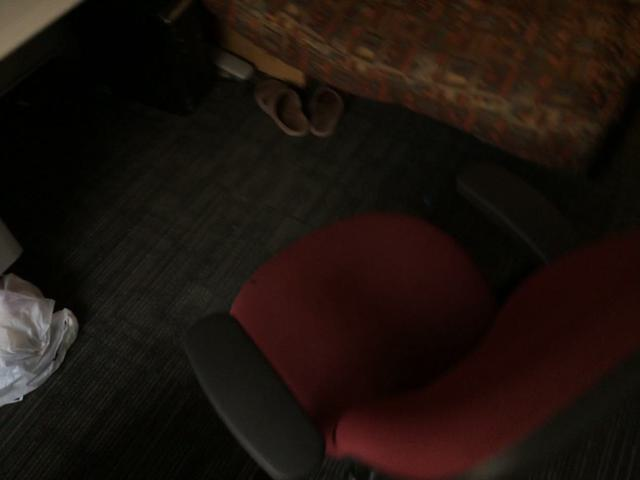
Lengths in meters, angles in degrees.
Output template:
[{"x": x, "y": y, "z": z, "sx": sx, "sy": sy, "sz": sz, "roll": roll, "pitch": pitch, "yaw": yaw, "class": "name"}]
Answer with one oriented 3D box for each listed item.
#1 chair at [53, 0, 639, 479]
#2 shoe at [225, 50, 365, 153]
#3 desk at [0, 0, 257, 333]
[{"x": 0.180, "y": 0.170, "z": 0.990, "sx": 0.660, "sy": 0.970, "sz": 0.700, "roll": -32, "pitch": 61, "yaw": -20, "class": "chair"}, {"x": -0.080, "y": -0.480, "z": 1.970, "sx": 0.370, "sy": 0.070, "sz": 0.300, "roll": 23, "pitch": 58, "yaw": 15, "class": "shoe"}, {"x": -0.900, "y": -0.430, "z": 1.500, "sx": 0.740, "sy": 0.630, "sz": 1.510, "roll": 23, "pitch": 58, "yaw": 15, "class": "desk"}]
